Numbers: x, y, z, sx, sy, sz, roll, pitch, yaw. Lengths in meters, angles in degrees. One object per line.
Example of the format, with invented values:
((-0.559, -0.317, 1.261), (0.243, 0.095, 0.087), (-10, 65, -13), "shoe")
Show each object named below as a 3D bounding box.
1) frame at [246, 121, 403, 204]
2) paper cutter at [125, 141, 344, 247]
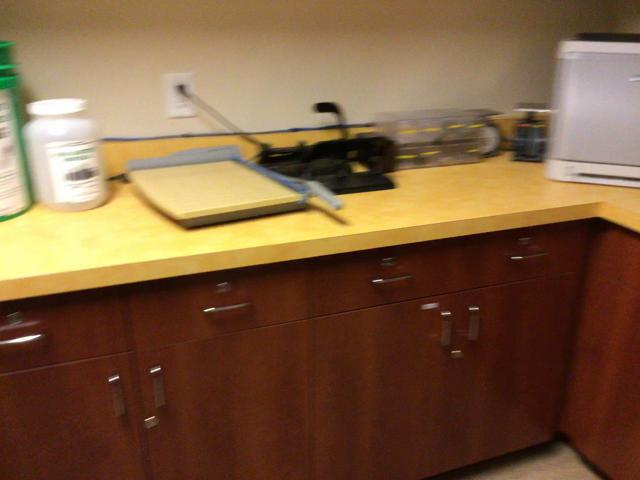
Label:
((0.000, -0.230, 1.620), (0.340, 0.150, 0.340), (-7, 19, -18), "frame")
((-0.240, -0.140, 1.410), (0.420, 0.100, 0.560), (-7, 19, -18), "paper cutter")
